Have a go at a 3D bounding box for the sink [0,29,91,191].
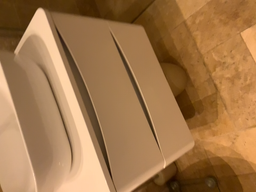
[{"bbox_3d":[-0.330,0.080,0.670,0.330,0.130,0.440,-31,77,42],"label":"sink"}]
